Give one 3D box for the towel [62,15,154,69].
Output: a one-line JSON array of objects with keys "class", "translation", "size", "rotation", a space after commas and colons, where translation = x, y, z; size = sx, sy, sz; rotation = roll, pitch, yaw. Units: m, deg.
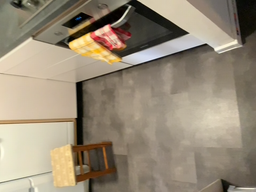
[{"class": "towel", "translation": [-0.100, -0.250, 1.090], "size": [0.320, 0.340, 0.110], "rotation": [-7, 82, 41]}]
